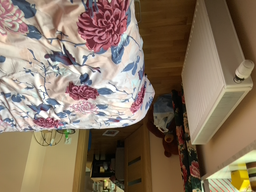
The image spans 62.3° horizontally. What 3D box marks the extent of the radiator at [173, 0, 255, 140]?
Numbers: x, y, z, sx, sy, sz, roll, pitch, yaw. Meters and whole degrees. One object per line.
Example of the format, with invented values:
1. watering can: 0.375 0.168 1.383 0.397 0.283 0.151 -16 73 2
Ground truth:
1. radiator: 0.490 -0.210 1.410 0.190 0.750 0.920 -1 152 3
